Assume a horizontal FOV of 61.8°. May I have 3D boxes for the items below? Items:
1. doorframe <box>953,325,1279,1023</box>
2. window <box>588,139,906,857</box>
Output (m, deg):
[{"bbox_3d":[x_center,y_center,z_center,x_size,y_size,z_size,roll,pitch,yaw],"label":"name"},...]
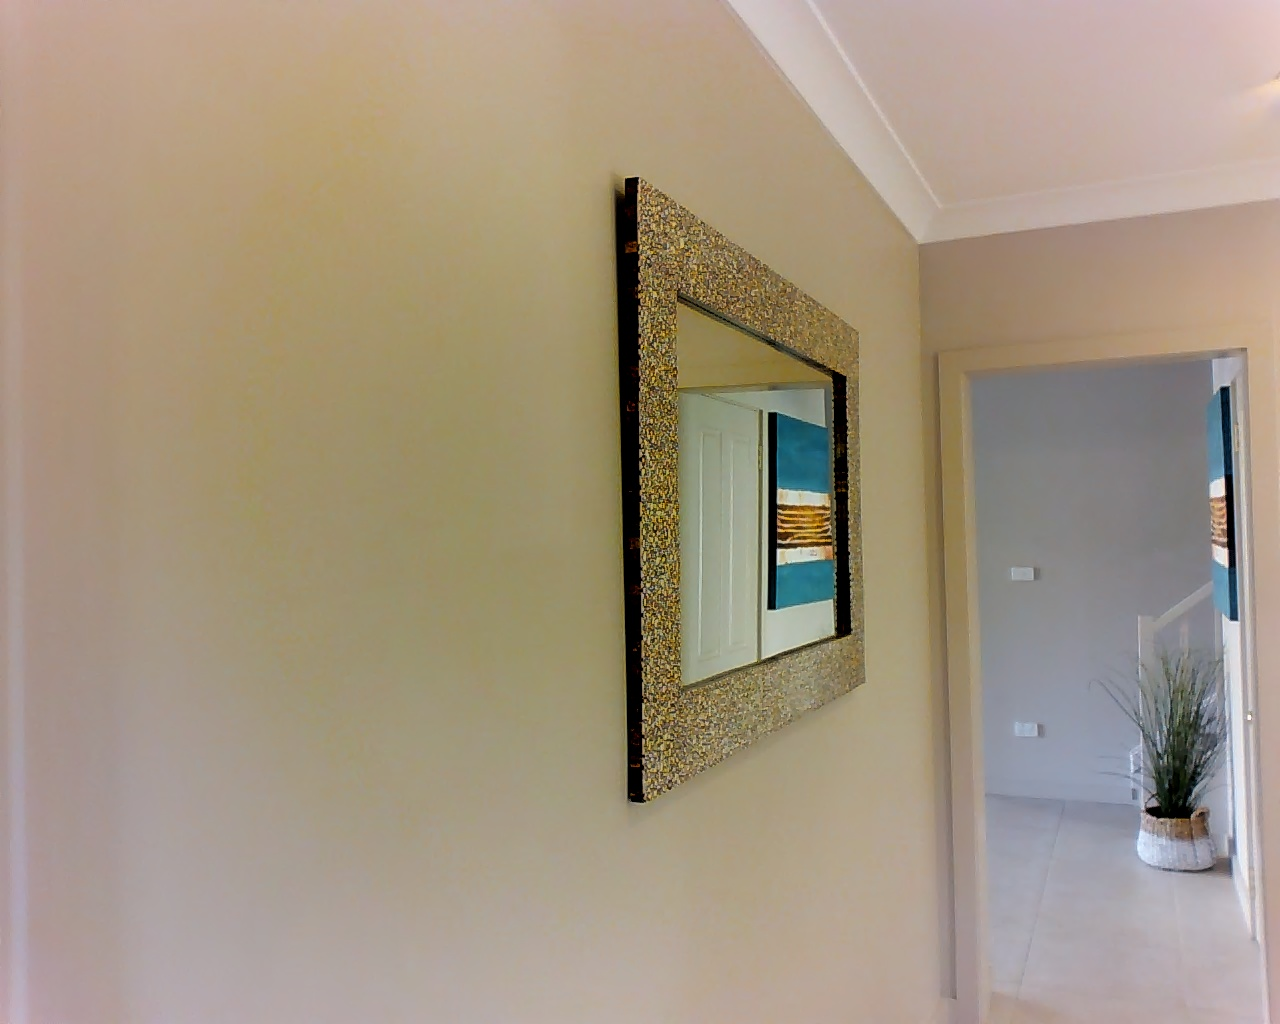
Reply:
[{"bbox_3d":[1.400,0.540,3.170,0.830,2.081,0.210,-2,-2,25],"label":"doorframe"},{"bbox_3d":[0.270,-0.010,1.920,0.140,0.890,1.250,-2,-2,25],"label":"window"}]
